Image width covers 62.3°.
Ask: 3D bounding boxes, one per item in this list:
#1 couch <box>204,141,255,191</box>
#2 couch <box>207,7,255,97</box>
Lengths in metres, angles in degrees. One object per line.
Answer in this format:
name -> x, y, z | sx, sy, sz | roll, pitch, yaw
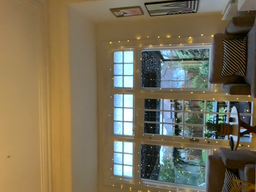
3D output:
couch -> 1.540, 1.280, 2.960 | 0.900, 0.810, 1.000 | -18, -71, -75
couch -> 1.520, -0.510, 2.730 | 0.860, 0.830, 0.980 | -18, -71, -75
